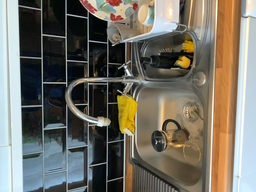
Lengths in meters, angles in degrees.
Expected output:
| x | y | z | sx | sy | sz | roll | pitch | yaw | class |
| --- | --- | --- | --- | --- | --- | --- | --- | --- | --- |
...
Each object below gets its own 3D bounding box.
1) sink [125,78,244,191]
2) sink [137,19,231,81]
| x | y | z | sx | sy | sz | roll | pitch | yaw | class |
| --- | --- | --- | --- | --- | --- | --- | --- | --- | --- |
| 0.200 | 0.130 | 0.920 | 0.480 | 0.200 | 0.410 | 8 | 98 | 58 | sink |
| 0.200 | -0.160 | 0.860 | 0.370 | 0.140 | 0.190 | 8 | 98 | 58 | sink |
